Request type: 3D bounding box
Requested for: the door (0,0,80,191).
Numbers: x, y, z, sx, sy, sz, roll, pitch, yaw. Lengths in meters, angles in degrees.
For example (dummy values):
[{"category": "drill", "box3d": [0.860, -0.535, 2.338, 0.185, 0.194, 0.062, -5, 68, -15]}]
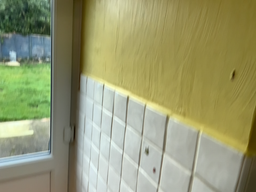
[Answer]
[{"category": "door", "box3d": [-0.630, 0.230, 1.180, 0.670, 2.020, 0.030, -3, 16, -30]}]
